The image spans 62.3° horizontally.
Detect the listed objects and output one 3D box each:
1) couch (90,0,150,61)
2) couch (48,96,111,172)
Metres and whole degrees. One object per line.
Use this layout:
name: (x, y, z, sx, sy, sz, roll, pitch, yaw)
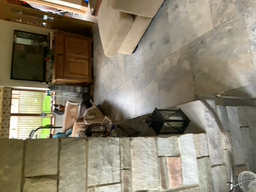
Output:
couch: (-0.170, -1.170, 3.240, 0.720, 0.500, 0.960, -51, 44, 47)
couch: (-1.020, 0.690, 4.210, 1.100, 0.860, 1.020, 36, 118, 58)
